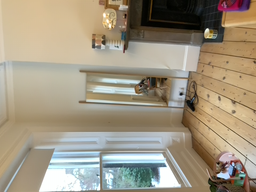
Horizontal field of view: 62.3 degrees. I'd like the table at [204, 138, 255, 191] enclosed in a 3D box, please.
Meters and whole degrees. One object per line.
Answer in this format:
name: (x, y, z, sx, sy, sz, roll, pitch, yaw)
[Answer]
table: (1.070, 0.720, 1.880, 0.510, 0.490, 0.500, -122, 35, -73)
